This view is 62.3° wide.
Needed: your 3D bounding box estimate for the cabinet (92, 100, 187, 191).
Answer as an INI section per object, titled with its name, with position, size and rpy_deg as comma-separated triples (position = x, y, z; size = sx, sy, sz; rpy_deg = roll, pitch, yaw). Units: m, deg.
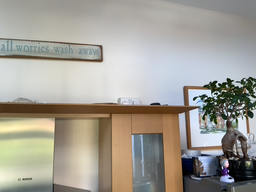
[cabinet]
position = 0.030, 0.470, 1.250
size = 0.410, 0.830, 0.490
rpy_deg = 2, -8, -18
